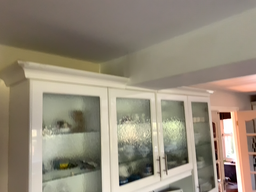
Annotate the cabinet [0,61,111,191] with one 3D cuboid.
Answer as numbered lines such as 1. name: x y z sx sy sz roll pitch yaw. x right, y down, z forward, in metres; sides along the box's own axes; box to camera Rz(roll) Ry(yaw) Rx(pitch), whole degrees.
1. cabinet: -0.420 0.480 1.260 0.280 1.250 0.590 -9 -9 44

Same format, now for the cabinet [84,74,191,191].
1. cabinet: 0.130 0.320 1.830 0.310 0.860 0.980 -9 -9 44
